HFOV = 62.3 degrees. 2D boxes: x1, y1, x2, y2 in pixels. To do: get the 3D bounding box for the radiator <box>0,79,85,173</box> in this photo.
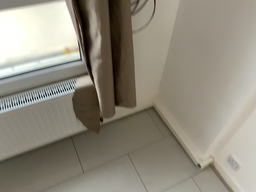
[{"bbox_3d":[-0.770,0.270,1.170,1.040,0.550,0.070,-19,53,-20],"label":"radiator"}]
